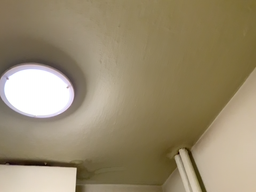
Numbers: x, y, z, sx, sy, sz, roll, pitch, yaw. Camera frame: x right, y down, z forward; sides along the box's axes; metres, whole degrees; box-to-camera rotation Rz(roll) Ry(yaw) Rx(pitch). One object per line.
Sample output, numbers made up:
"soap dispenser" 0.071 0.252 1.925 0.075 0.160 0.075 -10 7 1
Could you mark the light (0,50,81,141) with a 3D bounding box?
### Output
"light" -0.360 0.000 0.890 0.070 0.290 0.350 130 143 -67
